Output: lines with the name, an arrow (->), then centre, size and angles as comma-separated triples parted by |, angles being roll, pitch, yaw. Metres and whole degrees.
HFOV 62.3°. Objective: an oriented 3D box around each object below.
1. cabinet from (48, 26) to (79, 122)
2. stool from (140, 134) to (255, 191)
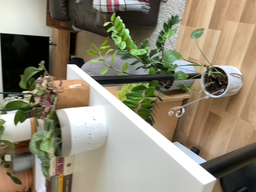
cabinet -> -1.090, -0.340, 3.490 | 0.370, 0.320, 1.490 | 35, 122, 49
stool -> 0.430, 0.520, 1.030 | 0.400, 0.650, 0.410 | 38, 124, 48
